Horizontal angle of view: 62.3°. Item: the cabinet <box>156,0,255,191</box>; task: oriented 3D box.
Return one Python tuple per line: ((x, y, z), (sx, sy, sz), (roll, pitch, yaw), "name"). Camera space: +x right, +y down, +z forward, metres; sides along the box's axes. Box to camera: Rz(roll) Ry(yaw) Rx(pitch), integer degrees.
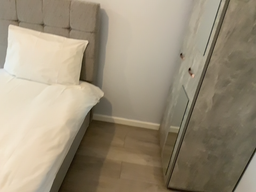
((0.700, -0.220, 1.630), (0.540, 1.890, 0.810), (10, 27, 0), "cabinet")
